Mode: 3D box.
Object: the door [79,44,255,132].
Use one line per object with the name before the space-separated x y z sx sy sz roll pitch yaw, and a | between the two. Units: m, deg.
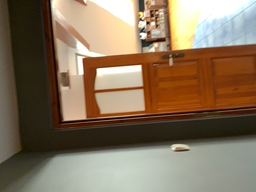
door | 0.590 -0.100 2.260 0.140 2.140 0.760 118 148 -88
